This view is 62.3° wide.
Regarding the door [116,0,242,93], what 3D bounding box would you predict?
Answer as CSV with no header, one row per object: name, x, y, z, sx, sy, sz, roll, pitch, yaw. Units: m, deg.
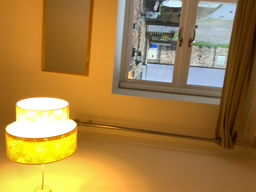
door,0.530,-1.140,2.040,1.120,2.140,0.130,5,-169,2
